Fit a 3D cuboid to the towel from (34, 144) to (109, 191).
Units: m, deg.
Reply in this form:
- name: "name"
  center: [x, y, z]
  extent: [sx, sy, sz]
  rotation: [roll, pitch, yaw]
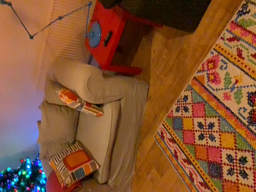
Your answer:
- name: "towel"
  center: [-0.590, 0.880, 2.130]
  extent: [0.590, 0.500, 0.520]
  rotation: [24, 108, 51]

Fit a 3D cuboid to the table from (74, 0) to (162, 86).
- name: "table"
  center: [-0.170, -0.650, 2.200]
  extent: [0.770, 0.370, 0.770]
  rotation: [52, 128, 41]

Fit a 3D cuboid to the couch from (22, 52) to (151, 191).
- name: "couch"
  center: [-0.540, 0.320, 2.290]
  extent: [1.110, 0.810, 1.370]
  rotation: [23, 106, 52]
